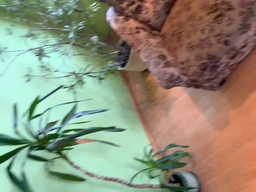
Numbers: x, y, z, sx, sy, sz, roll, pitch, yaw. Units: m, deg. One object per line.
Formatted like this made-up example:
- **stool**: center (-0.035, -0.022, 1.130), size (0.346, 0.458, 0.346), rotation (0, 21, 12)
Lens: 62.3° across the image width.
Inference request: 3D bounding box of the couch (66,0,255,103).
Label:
- **couch**: center (0.250, -0.580, 1.280), size (0.780, 0.920, 0.880), rotation (-57, 41, 35)
